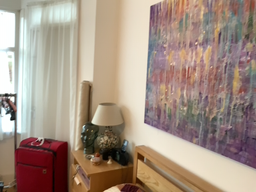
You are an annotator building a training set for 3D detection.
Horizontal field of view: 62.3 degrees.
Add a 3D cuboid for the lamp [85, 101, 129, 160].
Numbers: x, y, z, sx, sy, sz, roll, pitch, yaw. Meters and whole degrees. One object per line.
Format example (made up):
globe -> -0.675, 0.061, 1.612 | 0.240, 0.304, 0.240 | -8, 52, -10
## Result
lamp -> -0.210, 0.310, 2.040 | 0.310, 0.490, 0.280 | 1, 7, -29
